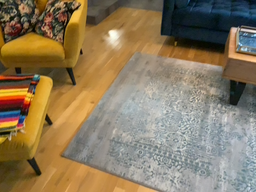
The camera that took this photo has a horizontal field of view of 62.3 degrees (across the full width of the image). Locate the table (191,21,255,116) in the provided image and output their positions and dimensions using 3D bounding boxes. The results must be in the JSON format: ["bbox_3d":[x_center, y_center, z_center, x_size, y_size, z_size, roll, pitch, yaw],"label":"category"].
[{"bbox_3d":[1.250,-0.190,1.790,1.220,0.480,0.630,15,43,17],"label":"table"}]
